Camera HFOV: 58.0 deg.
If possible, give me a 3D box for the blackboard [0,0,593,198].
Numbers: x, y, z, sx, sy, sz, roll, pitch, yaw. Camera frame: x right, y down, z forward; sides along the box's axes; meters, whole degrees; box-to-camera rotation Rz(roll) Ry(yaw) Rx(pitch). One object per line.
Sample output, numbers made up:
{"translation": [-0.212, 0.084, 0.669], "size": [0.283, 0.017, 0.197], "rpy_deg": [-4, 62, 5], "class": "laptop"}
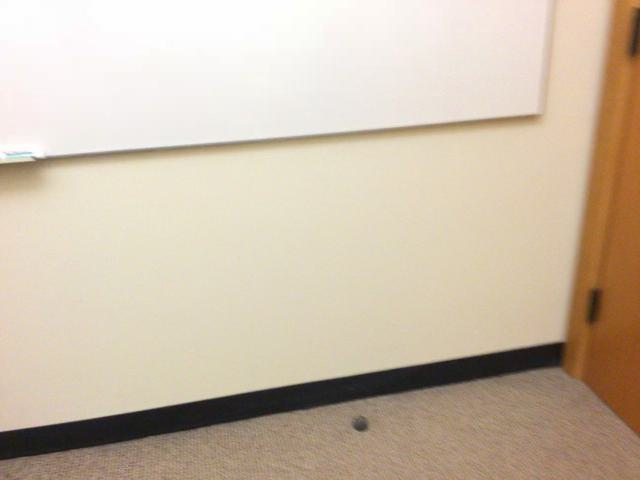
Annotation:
{"translation": [-0.550, -0.360, 1.350], "size": [2.440, 0.460, 0.140], "rpy_deg": [-6, 24, -7], "class": "blackboard"}
